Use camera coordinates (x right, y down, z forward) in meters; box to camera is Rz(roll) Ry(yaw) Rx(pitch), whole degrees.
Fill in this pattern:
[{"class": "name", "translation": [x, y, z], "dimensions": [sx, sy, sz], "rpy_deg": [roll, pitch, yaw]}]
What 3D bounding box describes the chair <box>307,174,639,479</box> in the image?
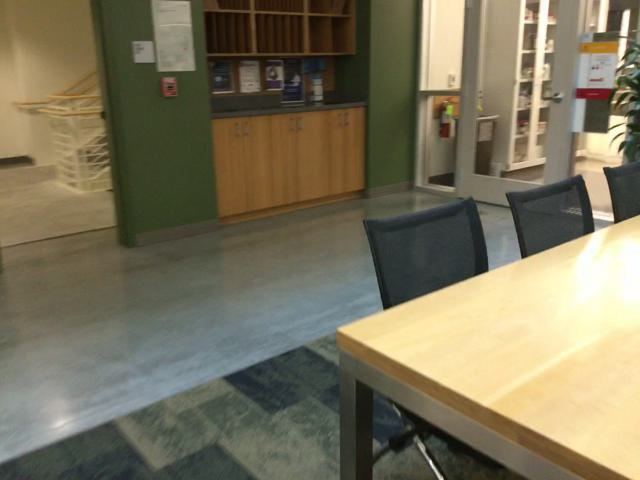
[{"class": "chair", "translation": [0.440, 0.370, 1.630], "dimensions": [0.640, 0.960, 0.640], "rpy_deg": [-14, 19, -33]}]
